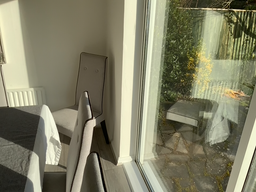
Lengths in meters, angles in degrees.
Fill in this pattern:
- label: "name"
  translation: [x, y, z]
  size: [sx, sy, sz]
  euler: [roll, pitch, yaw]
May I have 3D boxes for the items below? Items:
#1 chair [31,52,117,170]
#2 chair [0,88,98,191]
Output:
- label: "chair"
  translation: [-0.520, 0.110, 2.240]
  size: [0.510, 0.990, 0.630]
  euler: [16, 26, 29]
- label: "chair"
  translation: [-0.510, 0.520, 1.220]
  size: [0.620, 1.010, 0.450]
  euler: [-4, 24, -15]
